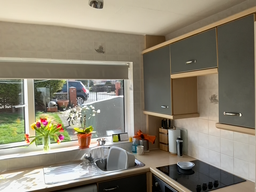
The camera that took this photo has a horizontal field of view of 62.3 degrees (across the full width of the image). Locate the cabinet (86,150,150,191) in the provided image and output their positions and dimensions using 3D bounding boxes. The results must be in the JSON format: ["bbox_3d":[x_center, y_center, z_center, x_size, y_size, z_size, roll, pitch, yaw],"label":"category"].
[{"bbox_3d":[-0.120,1.160,2.250,0.480,0.970,0.580,-3,2,-24],"label":"cabinet"}]

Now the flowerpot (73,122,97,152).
[{"bbox_3d":[-0.510,0.470,2.510,0.210,0.280,0.300,-2,2,-24],"label":"flowerpot"}]

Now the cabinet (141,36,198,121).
[{"bbox_3d":[0.450,-0.190,2.450,0.350,0.840,0.620,-2,3,-23],"label":"cabinet"}]

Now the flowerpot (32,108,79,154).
[{"bbox_3d":[-0.810,0.370,2.360,0.450,0.420,0.280,-2,2,-23],"label":"flowerpot"}]

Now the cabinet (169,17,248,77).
[{"bbox_3d":[0.680,-0.390,1.890,0.350,0.400,0.580,-2,3,-23],"label":"cabinet"}]

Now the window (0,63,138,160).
[{"bbox_3d":[-0.770,0.130,2.500,1.850,0.970,0.250,-2,2,-25],"label":"window"}]
